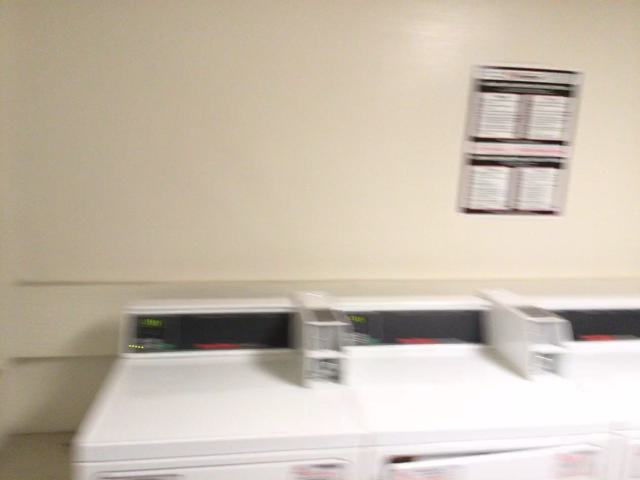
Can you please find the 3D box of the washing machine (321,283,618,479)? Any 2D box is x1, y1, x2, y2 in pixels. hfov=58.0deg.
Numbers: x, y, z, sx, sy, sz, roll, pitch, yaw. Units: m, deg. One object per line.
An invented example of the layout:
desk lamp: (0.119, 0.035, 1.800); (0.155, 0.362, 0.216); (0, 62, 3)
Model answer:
washing machine: (0.410, 0.760, 1.830); (0.690, 1.060, 0.730); (-6, 7, -2)
